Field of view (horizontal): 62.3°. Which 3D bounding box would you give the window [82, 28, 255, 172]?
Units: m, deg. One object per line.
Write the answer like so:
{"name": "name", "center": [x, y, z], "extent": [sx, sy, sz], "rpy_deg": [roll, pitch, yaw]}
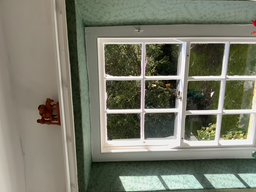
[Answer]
{"name": "window", "center": [0.350, 0.010, 1.560], "extent": [0.370, 1.250, 0.940], "rpy_deg": [-103, 12, -76]}
